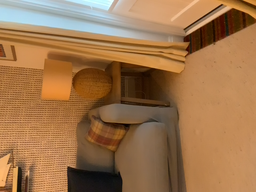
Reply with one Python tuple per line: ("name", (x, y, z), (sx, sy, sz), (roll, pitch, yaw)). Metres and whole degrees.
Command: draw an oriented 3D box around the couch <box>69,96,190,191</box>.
("couch", (-0.070, 1.040, 2.060), (1.060, 0.810, 1.910), (162, 110, -64))
